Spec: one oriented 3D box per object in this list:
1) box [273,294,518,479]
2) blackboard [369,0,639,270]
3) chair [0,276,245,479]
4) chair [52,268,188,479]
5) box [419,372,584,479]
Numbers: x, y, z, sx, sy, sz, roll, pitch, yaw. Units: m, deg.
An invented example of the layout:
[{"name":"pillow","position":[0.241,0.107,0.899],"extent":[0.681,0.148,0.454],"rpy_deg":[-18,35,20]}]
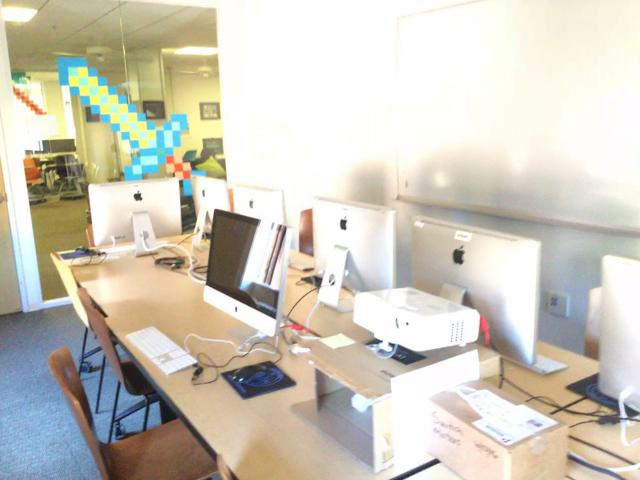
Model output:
[{"name":"box","position":[0.190,0.350,1.540],"extent":[0.460,0.220,0.440],"rpy_deg":[-10,16,-34]},{"name":"blackboard","position":[1.330,-0.600,2.590],"extent":[0.220,1.380,3.150],"rpy_deg":[-10,16,-34]},{"name":"chair","position":[-0.590,0.640,1.750],"extent":[0.630,0.890,0.540],"rpy_deg":[-5,14,-17]},{"name":"chair","position":[-0.810,0.560,2.330],"extent":[0.320,0.760,0.510],"rpy_deg":[-10,16,-34]},{"name":"box","position":[0.400,0.440,1.300],"extent":[0.230,0.140,0.260],"rpy_deg":[-10,16,-34]}]
